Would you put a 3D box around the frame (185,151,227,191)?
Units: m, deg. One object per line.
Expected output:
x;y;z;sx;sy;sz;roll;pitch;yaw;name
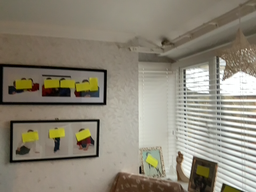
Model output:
0.690;0.700;1.880;0.170;0.340;0.240;-13;-1;-21;frame
